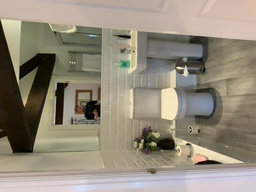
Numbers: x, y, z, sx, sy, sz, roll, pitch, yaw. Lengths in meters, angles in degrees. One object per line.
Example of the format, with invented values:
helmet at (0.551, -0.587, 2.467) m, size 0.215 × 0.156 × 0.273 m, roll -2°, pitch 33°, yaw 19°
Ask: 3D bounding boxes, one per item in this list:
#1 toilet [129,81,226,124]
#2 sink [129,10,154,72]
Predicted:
toilet at (0.480, 0.080, 2.290) m, size 0.670 × 0.820 × 0.380 m, roll 167°, pitch 104°, yaw -79°
sink at (0.140, -0.580, 2.360) m, size 0.420 × 0.170 × 0.560 m, roll 167°, pitch 104°, yaw -79°
